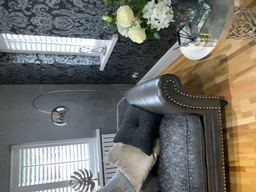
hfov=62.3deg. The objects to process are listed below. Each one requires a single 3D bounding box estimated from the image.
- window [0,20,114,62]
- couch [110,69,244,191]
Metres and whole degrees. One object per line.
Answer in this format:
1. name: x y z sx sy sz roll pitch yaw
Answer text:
1. window: -0.800 -0.560 2.300 0.630 1.170 0.060 136 130 -64
2. couch: 0.380 0.640 2.180 1.180 0.800 1.640 175 94 -71
